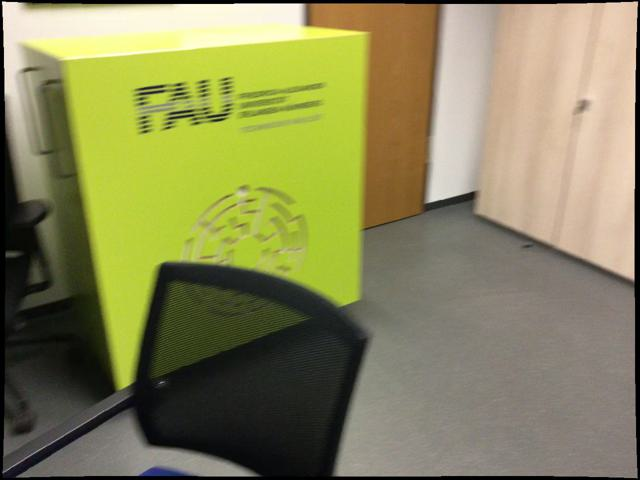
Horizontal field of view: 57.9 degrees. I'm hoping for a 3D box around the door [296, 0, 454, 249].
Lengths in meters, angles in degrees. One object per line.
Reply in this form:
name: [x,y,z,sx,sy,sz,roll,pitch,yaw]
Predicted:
door: [0.300,-1.041,3.010,0.849,2.102,0.190,-13,26,-28]
